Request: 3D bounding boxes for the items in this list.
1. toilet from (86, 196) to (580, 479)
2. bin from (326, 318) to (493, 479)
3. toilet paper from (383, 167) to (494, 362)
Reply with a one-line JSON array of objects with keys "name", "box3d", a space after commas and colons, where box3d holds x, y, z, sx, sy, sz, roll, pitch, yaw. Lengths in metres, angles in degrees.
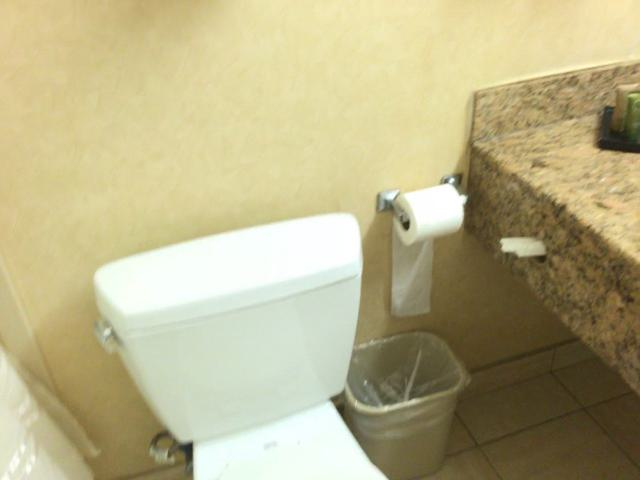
[{"name": "toilet", "box3d": [-0.050, 0.460, 1.030, 0.510, 0.730, 0.760, -13, 34, -15]}, {"name": "bin", "box3d": [0.210, 0.420, 1.430, 0.320, 0.310, 0.220, -13, 34, -15]}, {"name": "toilet paper", "box3d": [0.250, 0.060, 1.280, 0.180, 0.400, 0.120, -13, 34, -15]}]
